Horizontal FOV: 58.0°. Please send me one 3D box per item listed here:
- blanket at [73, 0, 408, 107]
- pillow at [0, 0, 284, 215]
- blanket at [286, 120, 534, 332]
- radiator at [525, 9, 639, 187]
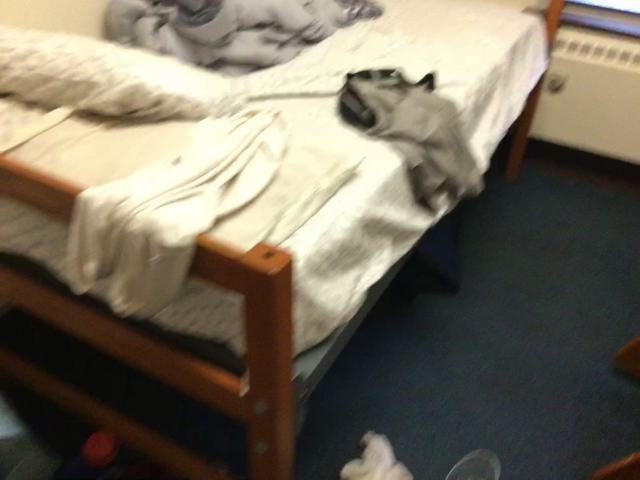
[{"bbox_3d":[-0.150,-0.780,1.760,0.470,0.300,1.070,20,40,24],"label":"blanket"},{"bbox_3d":[-0.460,-0.350,1.210,0.600,0.230,0.480,20,40,24],"label":"pillow"},{"bbox_3d":[0.390,-0.130,2.260,0.590,0.210,0.990,20,40,24],"label":"blanket"},{"bbox_3d":[1.570,-0.420,2.150,1.430,0.590,0.180,20,40,24],"label":"radiator"}]
